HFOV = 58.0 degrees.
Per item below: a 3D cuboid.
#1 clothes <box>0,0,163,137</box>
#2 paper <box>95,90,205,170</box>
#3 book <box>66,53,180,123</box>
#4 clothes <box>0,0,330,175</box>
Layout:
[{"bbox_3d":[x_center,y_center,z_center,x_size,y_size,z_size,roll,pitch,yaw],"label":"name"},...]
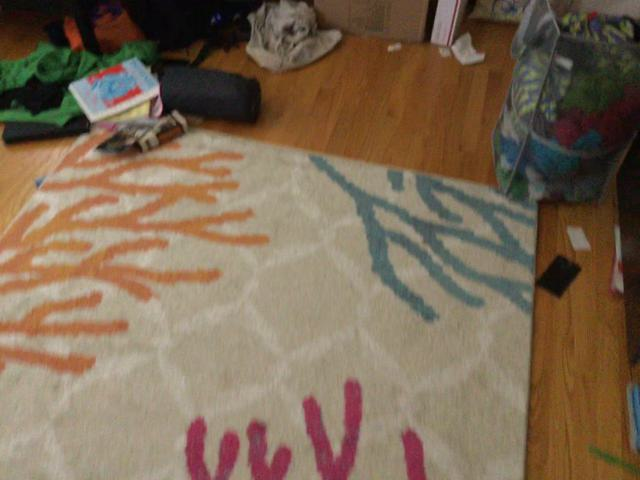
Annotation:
[{"bbox_3d":[-1.010,-0.700,2.240,0.550,0.140,0.620,13,51,8],"label":"clothes"},{"bbox_3d":[-0.600,-0.400,2.060,0.220,0.060,0.300,30,55,21],"label":"paper"},{"bbox_3d":[-0.740,-0.580,2.180,0.330,0.040,0.250,-27,60,-27],"label":"book"},{"bbox_3d":[-0.700,-0.930,2.340,1.240,0.290,1.310,13,51,8],"label":"clothes"}]
